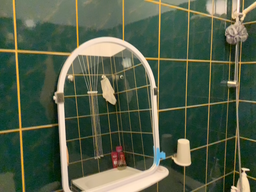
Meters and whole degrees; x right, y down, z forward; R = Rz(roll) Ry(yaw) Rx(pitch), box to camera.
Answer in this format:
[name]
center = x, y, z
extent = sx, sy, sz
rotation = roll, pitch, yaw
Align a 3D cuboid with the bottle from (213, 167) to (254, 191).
[bottle]
center = 0.700, 0.620, 1.410
extent = 0.220, 0.200, 0.150
rotation = -4, 8, -35
